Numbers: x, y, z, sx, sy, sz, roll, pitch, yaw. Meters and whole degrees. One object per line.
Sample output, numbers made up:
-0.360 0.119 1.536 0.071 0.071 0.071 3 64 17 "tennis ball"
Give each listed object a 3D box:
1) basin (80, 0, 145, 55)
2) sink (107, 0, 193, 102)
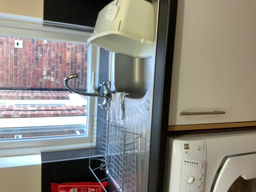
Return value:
-0.100 -0.350 1.010 0.460 0.150 0.270 -165 76 -65 "basin"
0.070 -0.230 1.040 0.470 0.180 0.450 -164 75 -64 "sink"
